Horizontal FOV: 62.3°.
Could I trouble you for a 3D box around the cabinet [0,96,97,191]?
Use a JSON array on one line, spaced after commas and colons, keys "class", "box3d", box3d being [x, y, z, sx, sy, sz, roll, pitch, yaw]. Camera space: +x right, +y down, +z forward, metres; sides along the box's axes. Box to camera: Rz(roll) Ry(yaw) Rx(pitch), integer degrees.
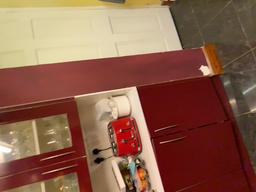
[{"class": "cabinet", "box3d": [-0.630, 0.890, 1.360, 0.410, 0.890, 1.620, 131, 127, -66]}]
